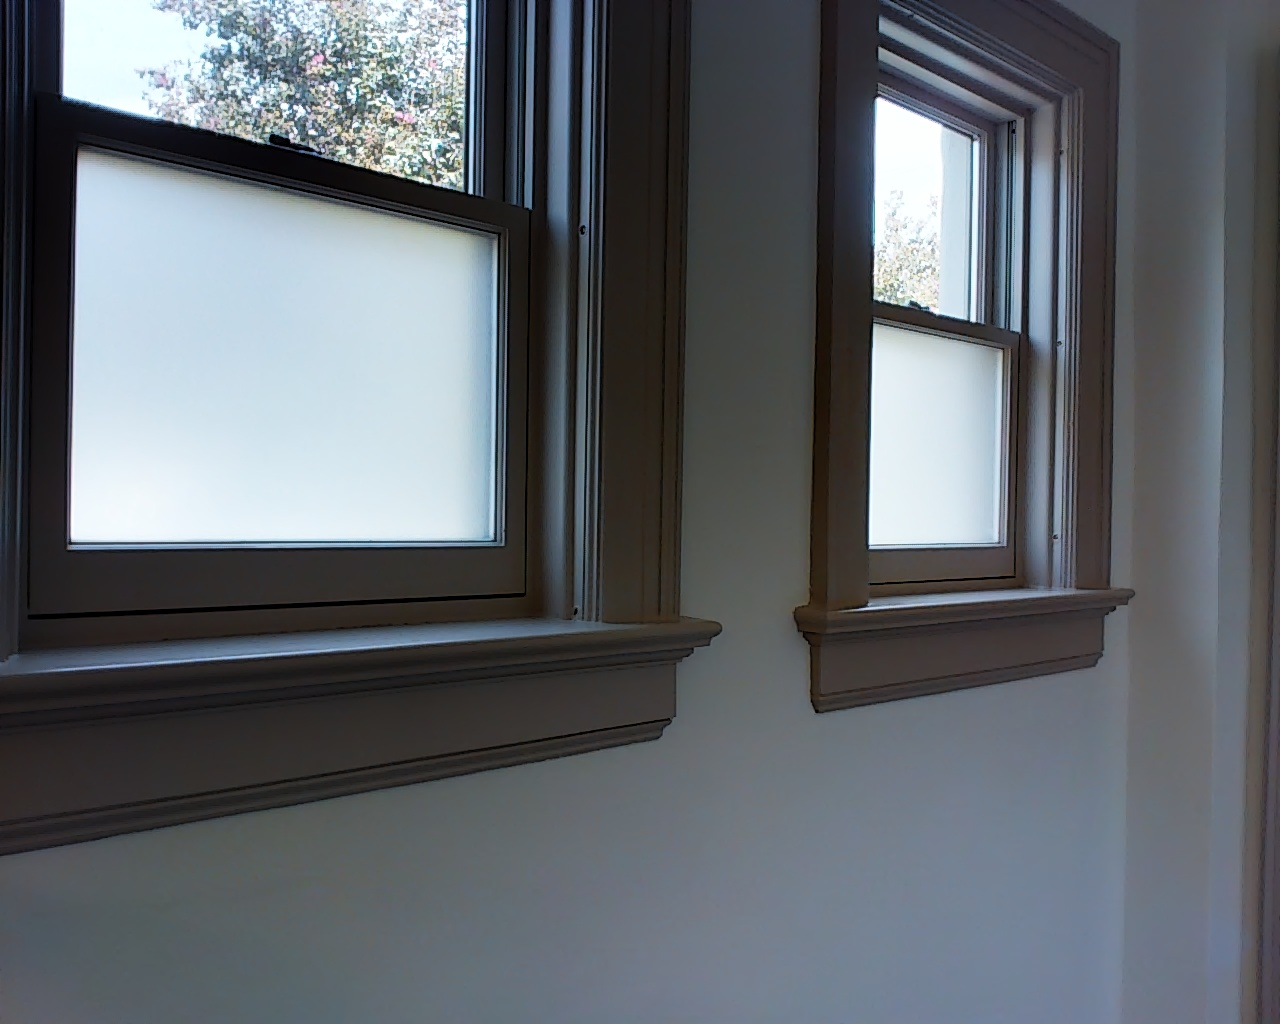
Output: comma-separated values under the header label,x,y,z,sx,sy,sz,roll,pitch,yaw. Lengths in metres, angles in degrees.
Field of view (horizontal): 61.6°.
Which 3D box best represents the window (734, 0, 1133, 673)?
label,x,y,z,sx,sy,sz,roll,pitch,yaw
window,0.530,-0.330,1.830,0.770,1.110,0.250,1,0,-41
